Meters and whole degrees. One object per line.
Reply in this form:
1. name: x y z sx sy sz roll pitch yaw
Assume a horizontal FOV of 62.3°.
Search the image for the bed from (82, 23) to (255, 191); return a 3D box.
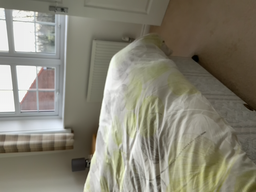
1. bed: 0.180 0.780 1.600 1.640 0.680 2.050 -116 33 -50
